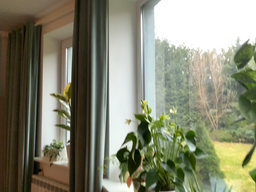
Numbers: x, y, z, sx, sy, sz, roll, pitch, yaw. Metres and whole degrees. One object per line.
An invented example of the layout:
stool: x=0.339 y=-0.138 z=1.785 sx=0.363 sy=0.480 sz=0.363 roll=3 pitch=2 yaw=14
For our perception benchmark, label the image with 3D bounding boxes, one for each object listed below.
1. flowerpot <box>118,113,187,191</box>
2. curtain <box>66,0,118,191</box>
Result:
flowerpot: x=0.120 y=0.390 z=1.220 sx=0.230 sy=0.580 sz=0.370 roll=2 pitch=-5 yaw=-26
curtain: x=-0.360 y=0.210 z=1.970 sx=0.210 sy=2.850 sz=0.670 roll=3 pitch=-5 yaw=-33
